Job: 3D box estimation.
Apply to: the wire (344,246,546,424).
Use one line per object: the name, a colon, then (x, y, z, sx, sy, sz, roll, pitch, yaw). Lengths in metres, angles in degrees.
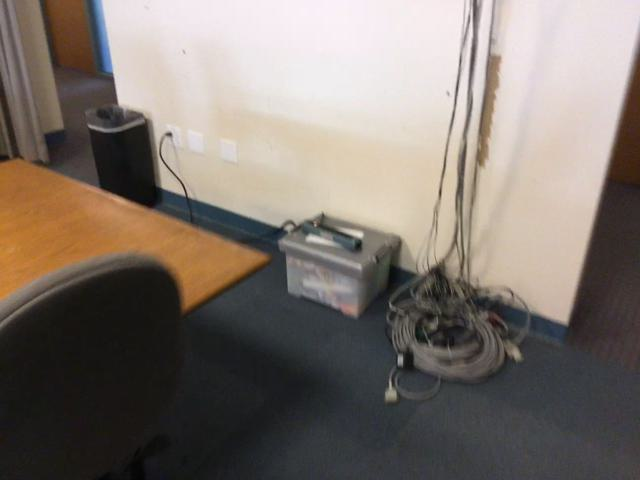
wire: (0.500, 0.330, 2.300, 0.570, 0.320, 0.560, 20, 25, 28)

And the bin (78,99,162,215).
bin: (-1.130, -0.480, 3.300, 0.320, 0.560, 0.300, 20, 25, 28)
